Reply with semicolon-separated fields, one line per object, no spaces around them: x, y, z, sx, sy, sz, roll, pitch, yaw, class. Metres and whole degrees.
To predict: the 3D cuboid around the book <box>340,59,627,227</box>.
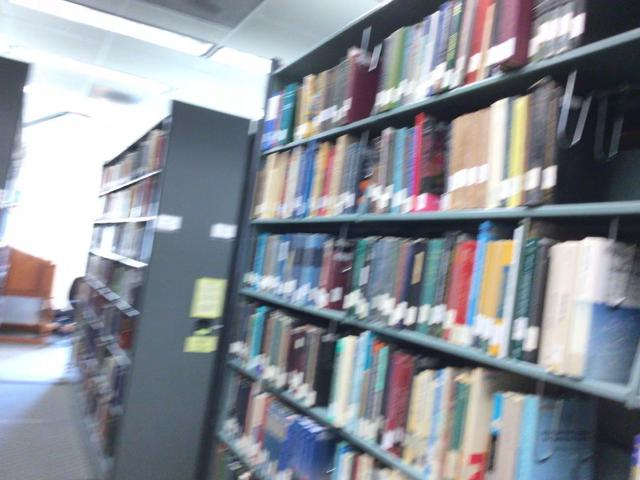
0.360;-0.200;1.500;0.210;0.270;0.750;14;-7;-28;book

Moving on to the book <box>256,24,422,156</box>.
0.030;-0.530;2.210;0.180;0.260;0.840;14;-7;-28;book

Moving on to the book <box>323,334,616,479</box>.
0.310;0.420;1.440;0.230;0.240;0.730;15;-7;-29;book

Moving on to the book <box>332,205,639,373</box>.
0.350;0.100;1.400;0.210;0.270;0.850;14;-7;-27;book

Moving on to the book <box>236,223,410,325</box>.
-0.030;0.110;2.170;0.200;0.290;0.810;15;-8;-31;book

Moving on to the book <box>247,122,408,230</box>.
-0.010;-0.210;2.200;0.210;0.280;0.780;14;-7;-27;book

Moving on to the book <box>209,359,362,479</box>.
-0.170;0.670;2.160;0.170;0.280;0.850;14;-7;-28;book
